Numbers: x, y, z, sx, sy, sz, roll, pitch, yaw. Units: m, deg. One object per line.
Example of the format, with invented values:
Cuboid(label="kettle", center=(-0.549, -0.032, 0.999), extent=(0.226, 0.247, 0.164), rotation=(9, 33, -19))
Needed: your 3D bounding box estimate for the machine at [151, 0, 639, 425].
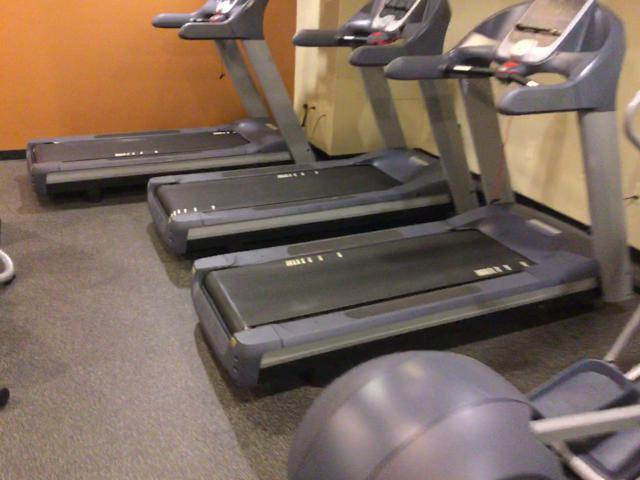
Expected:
Cuboid(label="machine", center=(0.470, -0.490, 2.420), extent=(2.050, 1.720, 0.980), rotation=(-10, 24, -17))

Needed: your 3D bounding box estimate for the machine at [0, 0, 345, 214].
Cuboid(label="machine", center=(-1.060, -1.360, 4.240), extent=(2.260, 1.840, 1.010), rotation=(-9, 23, -23))

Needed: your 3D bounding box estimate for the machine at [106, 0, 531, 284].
Cuboid(label="machine", center=(-0.010, -0.930, 3.390), extent=(2.160, 1.740, 0.980), rotation=(-10, 23, -19))
